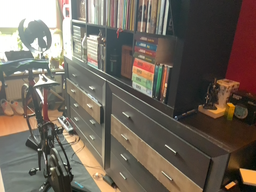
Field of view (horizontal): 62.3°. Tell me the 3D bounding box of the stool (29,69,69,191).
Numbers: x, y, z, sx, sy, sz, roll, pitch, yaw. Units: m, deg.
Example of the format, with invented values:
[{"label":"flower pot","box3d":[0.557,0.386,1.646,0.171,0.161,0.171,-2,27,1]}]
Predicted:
[{"label":"stool","box3d":[-0.590,0.310,1.610,0.140,0.970,0.270,-11,26,-33]}]
